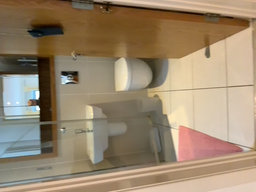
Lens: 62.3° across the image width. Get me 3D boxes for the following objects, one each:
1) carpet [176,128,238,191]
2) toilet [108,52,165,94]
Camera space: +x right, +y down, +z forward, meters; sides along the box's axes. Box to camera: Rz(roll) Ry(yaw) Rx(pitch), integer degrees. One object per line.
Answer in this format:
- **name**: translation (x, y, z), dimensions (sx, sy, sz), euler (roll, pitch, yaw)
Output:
- **carpet**: translation (0.620, 0.570, 1.800), dimensions (0.750, 0.010, 0.500), euler (180, 88, -71)
- **toilet**: translation (0.080, -0.250, 2.530), dimensions (0.560, 0.490, 0.420), euler (180, 87, -71)
